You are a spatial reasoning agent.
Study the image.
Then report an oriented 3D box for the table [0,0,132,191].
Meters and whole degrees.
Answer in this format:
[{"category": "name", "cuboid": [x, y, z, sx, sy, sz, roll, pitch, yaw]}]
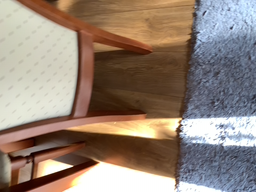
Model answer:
[{"category": "table", "cuboid": [-0.560, -0.150, 0.930, 0.790, 0.780, 1.390, 9, 95, 31]}]
